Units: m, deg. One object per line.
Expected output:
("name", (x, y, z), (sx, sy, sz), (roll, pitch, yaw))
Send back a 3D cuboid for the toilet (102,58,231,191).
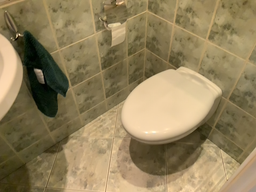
("toilet", (0.190, 0.140, 1.160), (0.510, 0.390, 0.360), (-32, 55, -25))
